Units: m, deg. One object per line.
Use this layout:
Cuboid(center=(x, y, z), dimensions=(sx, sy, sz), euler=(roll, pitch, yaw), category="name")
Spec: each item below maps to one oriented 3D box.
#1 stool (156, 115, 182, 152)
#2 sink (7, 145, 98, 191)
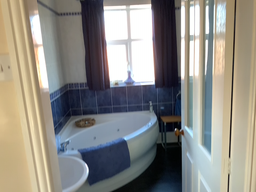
Cuboid(center=(0.660, 0.600, 3.430), dimensions=(0.340, 0.510, 0.290), euler=(-3, 12, -1), category="stool")
Cuboid(center=(-0.540, 0.590, 1.470), dimensions=(0.440, 0.200, 0.560), euler=(-11, 14, -34), category="sink")
